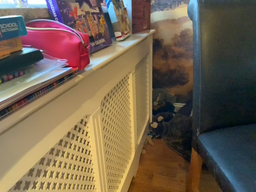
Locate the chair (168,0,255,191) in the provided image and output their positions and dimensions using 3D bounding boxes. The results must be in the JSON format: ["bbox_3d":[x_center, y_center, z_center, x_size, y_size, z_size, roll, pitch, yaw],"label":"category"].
[{"bbox_3d":[0.550,0.160,0.920,0.520,1.110,0.570,-6,23,-11],"label":"chair"}]
